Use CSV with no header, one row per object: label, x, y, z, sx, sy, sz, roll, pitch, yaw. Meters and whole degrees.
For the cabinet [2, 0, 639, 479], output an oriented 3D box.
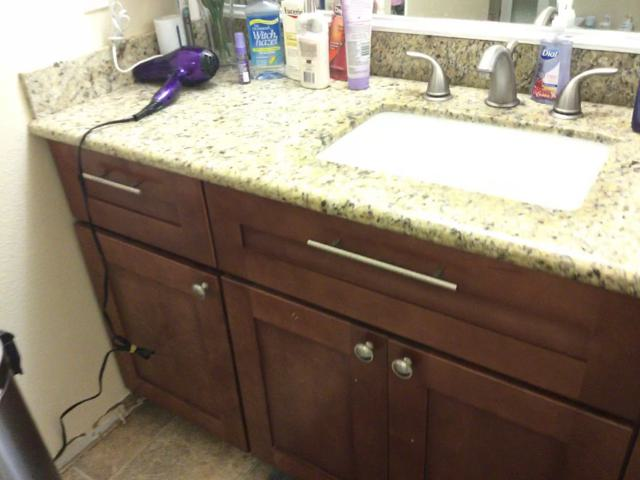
cabinet,0.260,0.150,1.160,1.680,1.100,0.580,17,35,31
